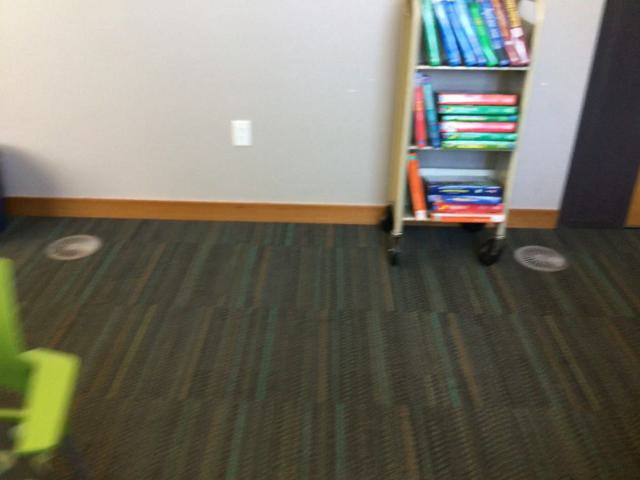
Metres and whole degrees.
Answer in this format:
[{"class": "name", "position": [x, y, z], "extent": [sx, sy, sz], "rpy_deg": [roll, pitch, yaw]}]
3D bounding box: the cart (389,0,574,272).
[{"class": "cart", "position": [0.590, -0.470, 2.370], "extent": [0.540, 1.100, 0.460], "rpy_deg": [2, 28, 4]}]
